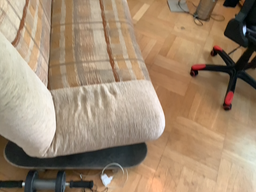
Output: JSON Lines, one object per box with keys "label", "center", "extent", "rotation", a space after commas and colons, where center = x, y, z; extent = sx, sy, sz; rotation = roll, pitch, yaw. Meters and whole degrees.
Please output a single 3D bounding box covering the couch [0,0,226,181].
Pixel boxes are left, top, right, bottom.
{"label": "couch", "center": [-0.380, -0.600, 1.400], "extent": [0.880, 0.870, 1.890], "rotation": [-4, 54, -12]}
